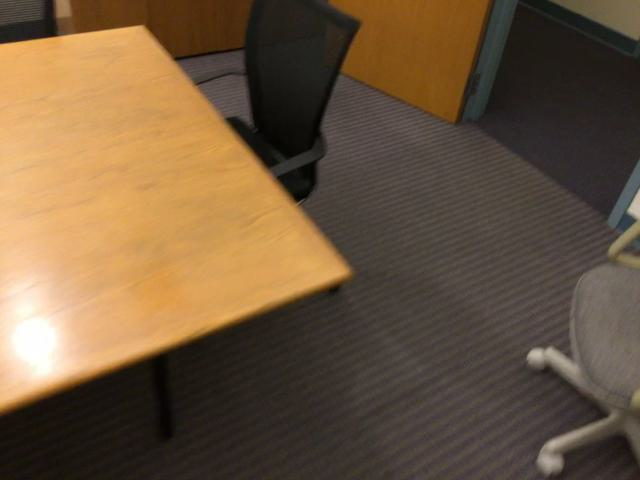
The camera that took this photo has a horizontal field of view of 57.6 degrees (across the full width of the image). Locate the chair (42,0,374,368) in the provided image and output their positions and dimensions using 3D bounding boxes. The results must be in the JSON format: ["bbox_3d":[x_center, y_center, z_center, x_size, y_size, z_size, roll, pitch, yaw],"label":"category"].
[{"bbox_3d":[-0.330,-0.240,1.770,0.630,0.910,0.630,-21,48,-26],"label":"chair"}]

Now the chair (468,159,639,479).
[{"bbox_3d":[0.930,0.270,1.460,0.670,0.720,0.670,-21,48,-26],"label":"chair"}]
